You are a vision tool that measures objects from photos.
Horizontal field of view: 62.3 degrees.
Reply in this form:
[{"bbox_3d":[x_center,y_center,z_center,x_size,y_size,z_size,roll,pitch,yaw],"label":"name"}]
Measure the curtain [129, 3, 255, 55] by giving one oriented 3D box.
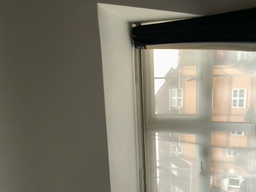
[{"bbox_3d":[0.550,-0.440,1.420,0.120,1.080,0.270,-36,-55,-73],"label":"curtain"}]
